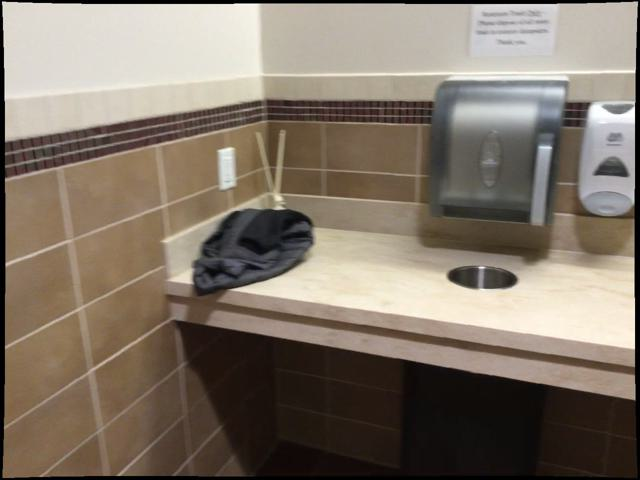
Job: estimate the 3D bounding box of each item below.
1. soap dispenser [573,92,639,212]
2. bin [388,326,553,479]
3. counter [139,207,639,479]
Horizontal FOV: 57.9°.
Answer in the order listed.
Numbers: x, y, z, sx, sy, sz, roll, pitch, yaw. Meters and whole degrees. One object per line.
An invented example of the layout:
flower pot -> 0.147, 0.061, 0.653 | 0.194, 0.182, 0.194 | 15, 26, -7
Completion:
soap dispenser -> 0.749, -0.220, 1.430 | 0.200, 0.270, 0.130 | 6, 20, 22
bin -> 0.370, 0.591, 1.480 | 0.350, 0.671, 0.190 | 6, 20, 22
counter -> 0.579, 0.340, 1.420 | 1.938, 0.540, 0.640 | 6, 20, 22
